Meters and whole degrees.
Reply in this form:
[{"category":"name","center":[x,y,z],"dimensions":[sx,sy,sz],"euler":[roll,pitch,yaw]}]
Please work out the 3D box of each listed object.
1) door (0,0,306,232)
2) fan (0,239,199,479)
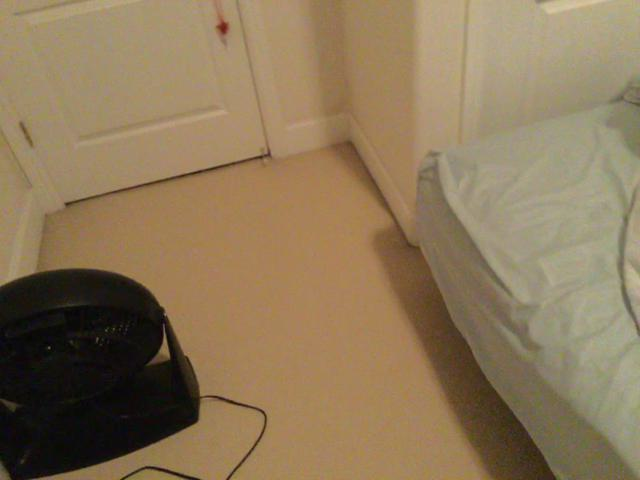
[{"category":"door","center":[-0.600,-0.510,2.030],"dimensions":[0.990,0.770,0.120],"euler":[-17,37,-8]},{"category":"fan","center":[-0.590,0.310,1.360],"dimensions":[0.500,0.510,0.200],"euler":[-12,36,-12]}]
